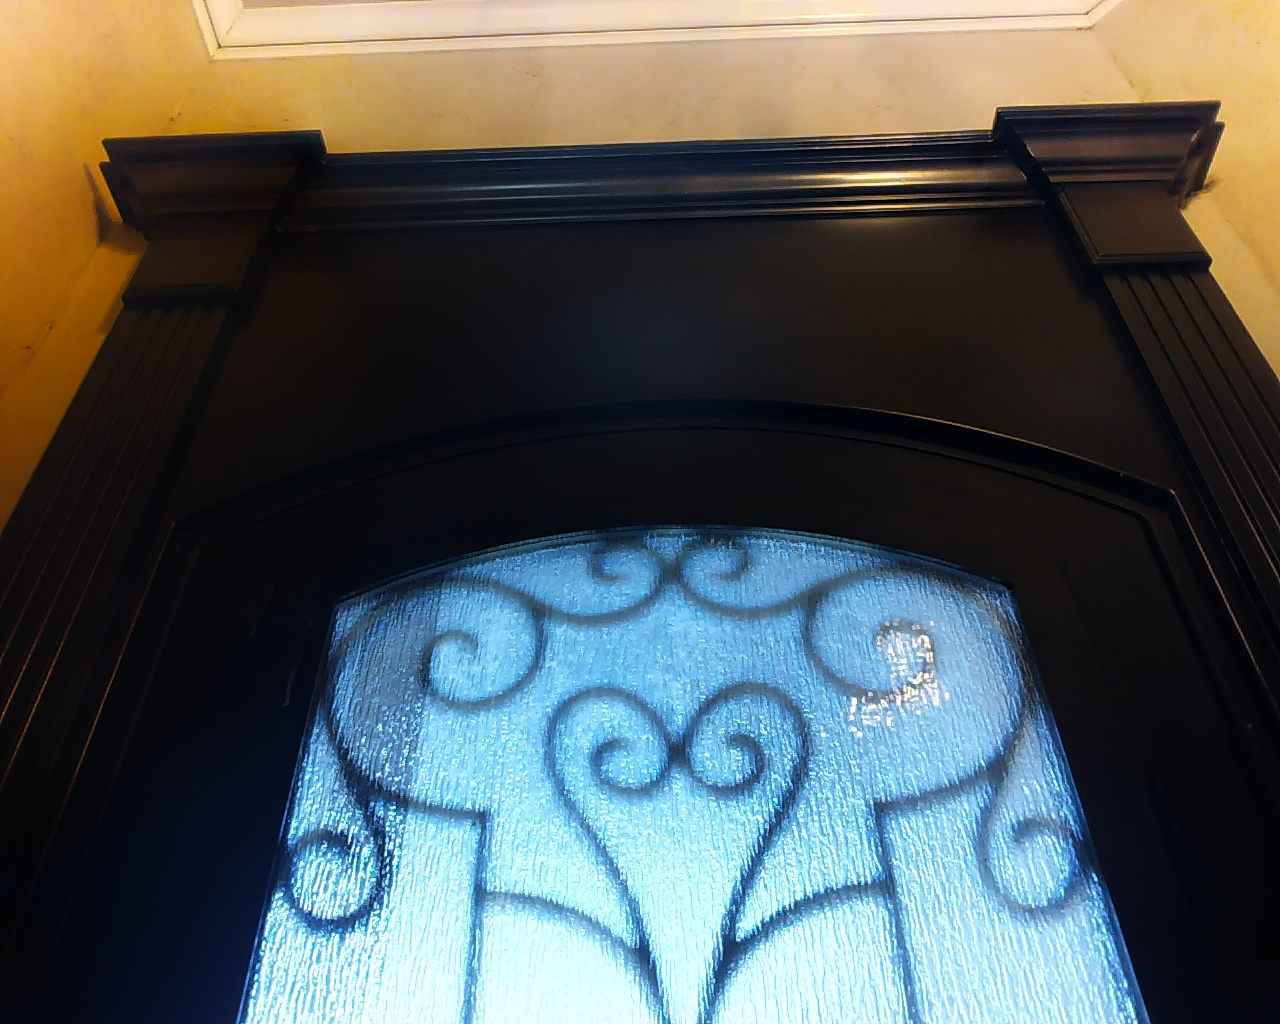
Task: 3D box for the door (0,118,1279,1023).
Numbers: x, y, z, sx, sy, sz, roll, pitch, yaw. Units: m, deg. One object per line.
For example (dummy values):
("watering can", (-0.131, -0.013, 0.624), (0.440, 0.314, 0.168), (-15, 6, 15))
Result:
("door", (0.040, 0.530, 0.710), (1.759, 3.081, 0.090), (-1, -44, 1))
